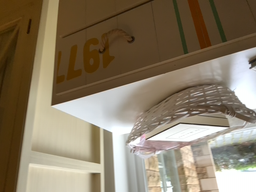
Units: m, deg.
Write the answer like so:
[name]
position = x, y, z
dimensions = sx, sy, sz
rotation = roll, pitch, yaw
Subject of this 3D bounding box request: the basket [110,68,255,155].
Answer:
[basket]
position = 0.230, 0.110, 0.810
dimensions = 0.410, 0.140, 0.440
rotation = 13, 150, -36
